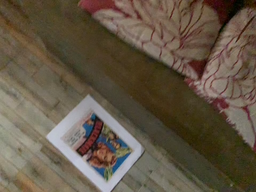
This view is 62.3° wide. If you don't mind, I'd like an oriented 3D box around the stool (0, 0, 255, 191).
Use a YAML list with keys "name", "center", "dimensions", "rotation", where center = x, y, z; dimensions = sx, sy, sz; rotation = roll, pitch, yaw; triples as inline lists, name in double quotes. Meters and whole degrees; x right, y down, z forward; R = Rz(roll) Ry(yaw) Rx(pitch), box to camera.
- name: "stool"
  center: [0.140, -0.050, 0.680]
  dimensions: [0.850, 0.300, 0.430]
  rotation: [41, 77, 0]
